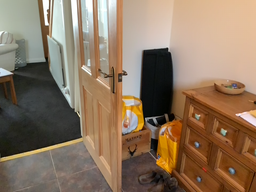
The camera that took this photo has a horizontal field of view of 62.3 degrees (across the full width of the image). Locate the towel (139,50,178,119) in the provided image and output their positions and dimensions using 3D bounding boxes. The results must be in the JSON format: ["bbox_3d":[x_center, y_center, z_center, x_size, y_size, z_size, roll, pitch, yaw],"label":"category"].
[{"bbox_3d":[0.320,-0.130,2.330,0.350,0.710,0.170,-9,22,-25],"label":"towel"}]

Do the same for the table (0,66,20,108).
[{"bbox_3d":[-1.900,-0.130,3.160,0.400,0.440,0.480,-13,31,-25],"label":"table"}]
